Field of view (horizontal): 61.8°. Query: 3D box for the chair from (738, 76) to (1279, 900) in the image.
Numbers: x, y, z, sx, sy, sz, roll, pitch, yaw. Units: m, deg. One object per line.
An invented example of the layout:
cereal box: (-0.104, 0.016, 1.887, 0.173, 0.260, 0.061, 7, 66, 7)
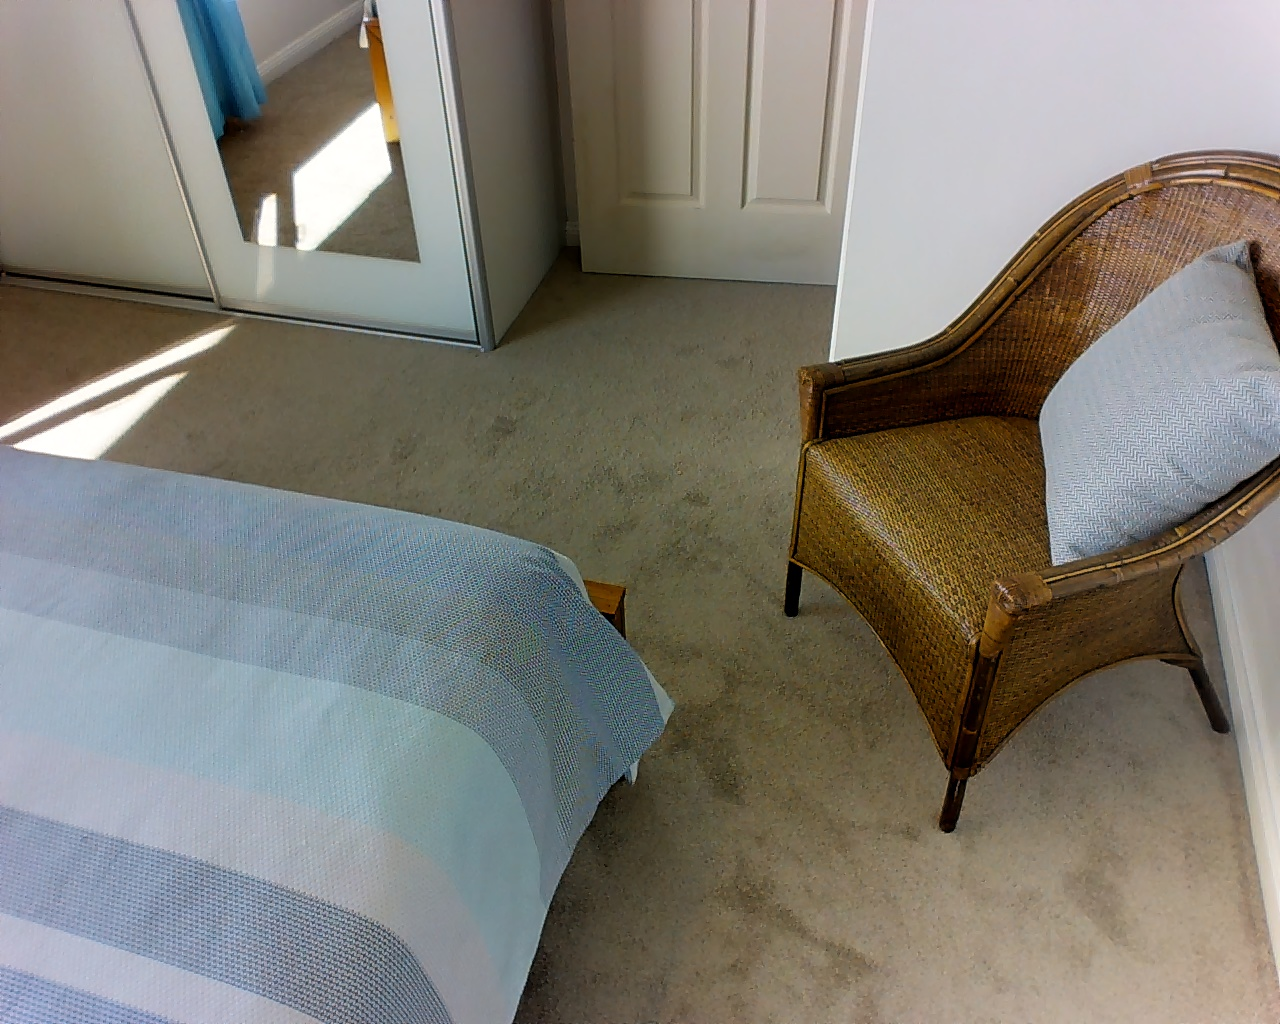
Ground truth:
chair: (0.660, -0.060, 1.690, 0.750, 0.900, 0.710, -16, 42, -15)

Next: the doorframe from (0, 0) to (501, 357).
doorframe: (-1.230, -1.450, 2.250, 1.670, 2.370, 0.080, 8, 42, 12)
